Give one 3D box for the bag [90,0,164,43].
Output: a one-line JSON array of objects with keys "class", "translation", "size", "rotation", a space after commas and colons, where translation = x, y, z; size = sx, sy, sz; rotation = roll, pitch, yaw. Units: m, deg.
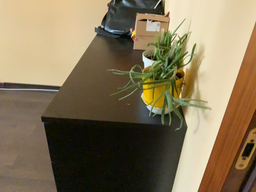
[{"class": "bag", "translation": [0.000, -0.580, 1.560], "size": [0.480, 0.250, 0.310], "rotation": [6, 31, 3]}]
